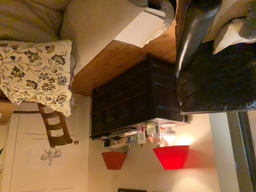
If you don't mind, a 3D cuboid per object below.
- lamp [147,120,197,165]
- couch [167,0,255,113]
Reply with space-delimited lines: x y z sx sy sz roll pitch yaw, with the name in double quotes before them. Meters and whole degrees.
"lamp" 0.490 0.540 2.400 0.360 0.440 0.370 12 157 -37
"couch" 0.760 -0.430 1.460 0.820 0.840 1.020 -4 162 5
